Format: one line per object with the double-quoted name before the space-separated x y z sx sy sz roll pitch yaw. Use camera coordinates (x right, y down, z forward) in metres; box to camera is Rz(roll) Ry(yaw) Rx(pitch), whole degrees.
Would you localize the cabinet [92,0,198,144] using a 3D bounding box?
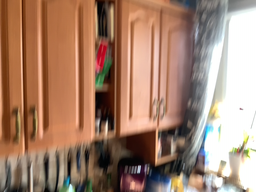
"cabinet" 0.130 -0.180 1.390 0.660 0.810 0.290 -3 6 -39
